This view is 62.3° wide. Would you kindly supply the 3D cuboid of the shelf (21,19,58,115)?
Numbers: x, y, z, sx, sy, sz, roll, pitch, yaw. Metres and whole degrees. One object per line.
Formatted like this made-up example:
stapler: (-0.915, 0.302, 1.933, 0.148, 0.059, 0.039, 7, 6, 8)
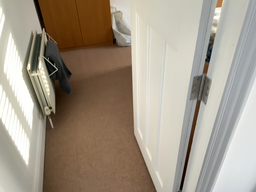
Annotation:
shelf: (-0.890, -0.360, 2.260, 0.150, 0.570, 1.040, -10, 39, -10)
